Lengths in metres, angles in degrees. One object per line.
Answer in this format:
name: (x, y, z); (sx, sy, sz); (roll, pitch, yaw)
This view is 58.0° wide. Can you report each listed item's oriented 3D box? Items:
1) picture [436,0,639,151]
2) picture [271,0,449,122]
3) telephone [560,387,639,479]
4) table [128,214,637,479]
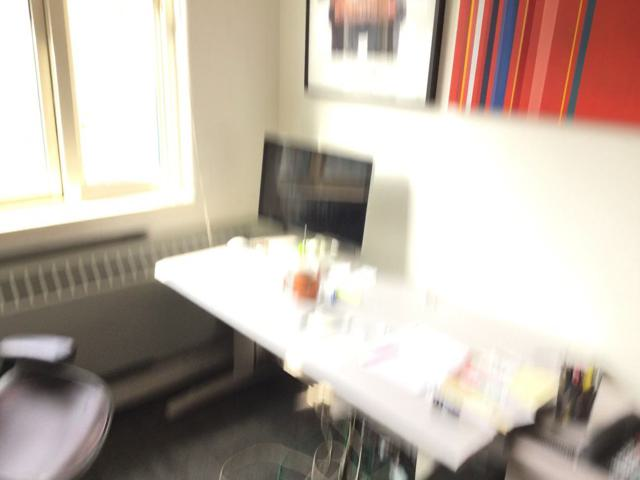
picture: (0.830, -0.740, 1.500); (0.070, 0.980, 1.170); (-12, 23, -38)
picture: (0.120, -1.040, 2.240); (0.090, 1.040, 0.920); (-12, 23, -38)
telephone: (0.720, 0.470, 1.340); (0.200, 0.110, 0.220); (-12, 23, -38)
table: (0.080, 0.530, 2.120); (0.870, 0.790, 1.580); (-14, 24, -40)
